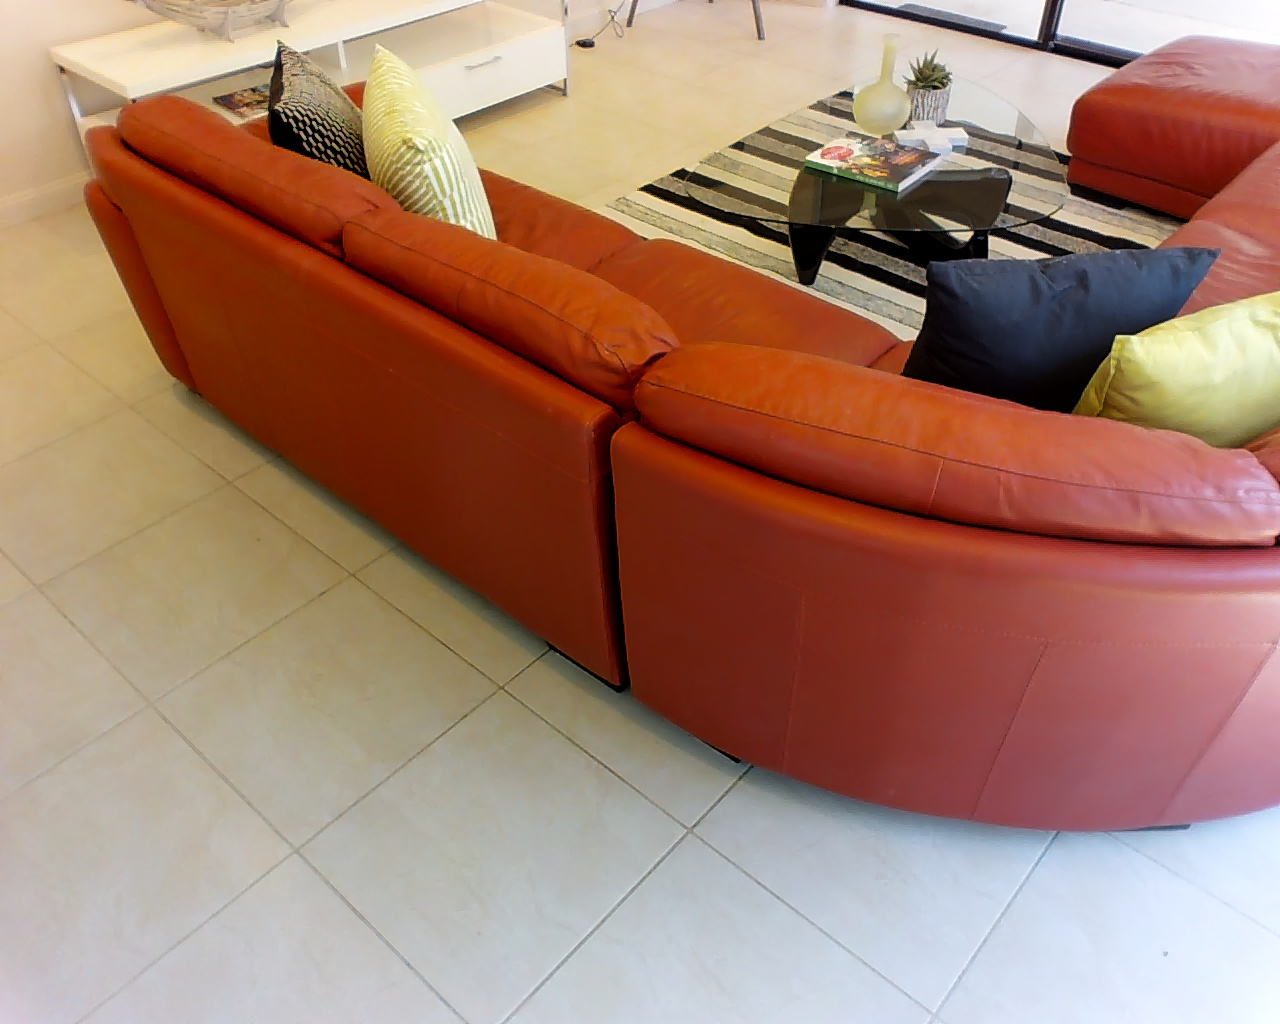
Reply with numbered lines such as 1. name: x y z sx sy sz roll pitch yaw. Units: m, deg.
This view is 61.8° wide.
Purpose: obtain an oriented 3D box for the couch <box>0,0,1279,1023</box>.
1. couch: 0.960 -0.920 2.890 2.960 0.800 3.780 29 48 29

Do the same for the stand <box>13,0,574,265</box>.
1. stand: -1.090 -1.540 3.820 0.600 0.530 1.830 29 48 29

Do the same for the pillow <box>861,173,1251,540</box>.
1. pillow: 0.640 -0.240 1.770 0.480 0.440 0.290 -11 52 5

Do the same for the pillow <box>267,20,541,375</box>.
1. pillow: -0.510 -0.690 2.330 0.300 0.470 0.570 -25 50 -13

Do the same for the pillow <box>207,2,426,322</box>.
1. pillow: -0.730 -0.810 2.470 0.310 0.440 0.540 -15 48 -1

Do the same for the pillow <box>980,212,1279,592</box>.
1. pillow: 0.850 -0.170 1.680 0.500 0.440 0.250 -16 49 -4
